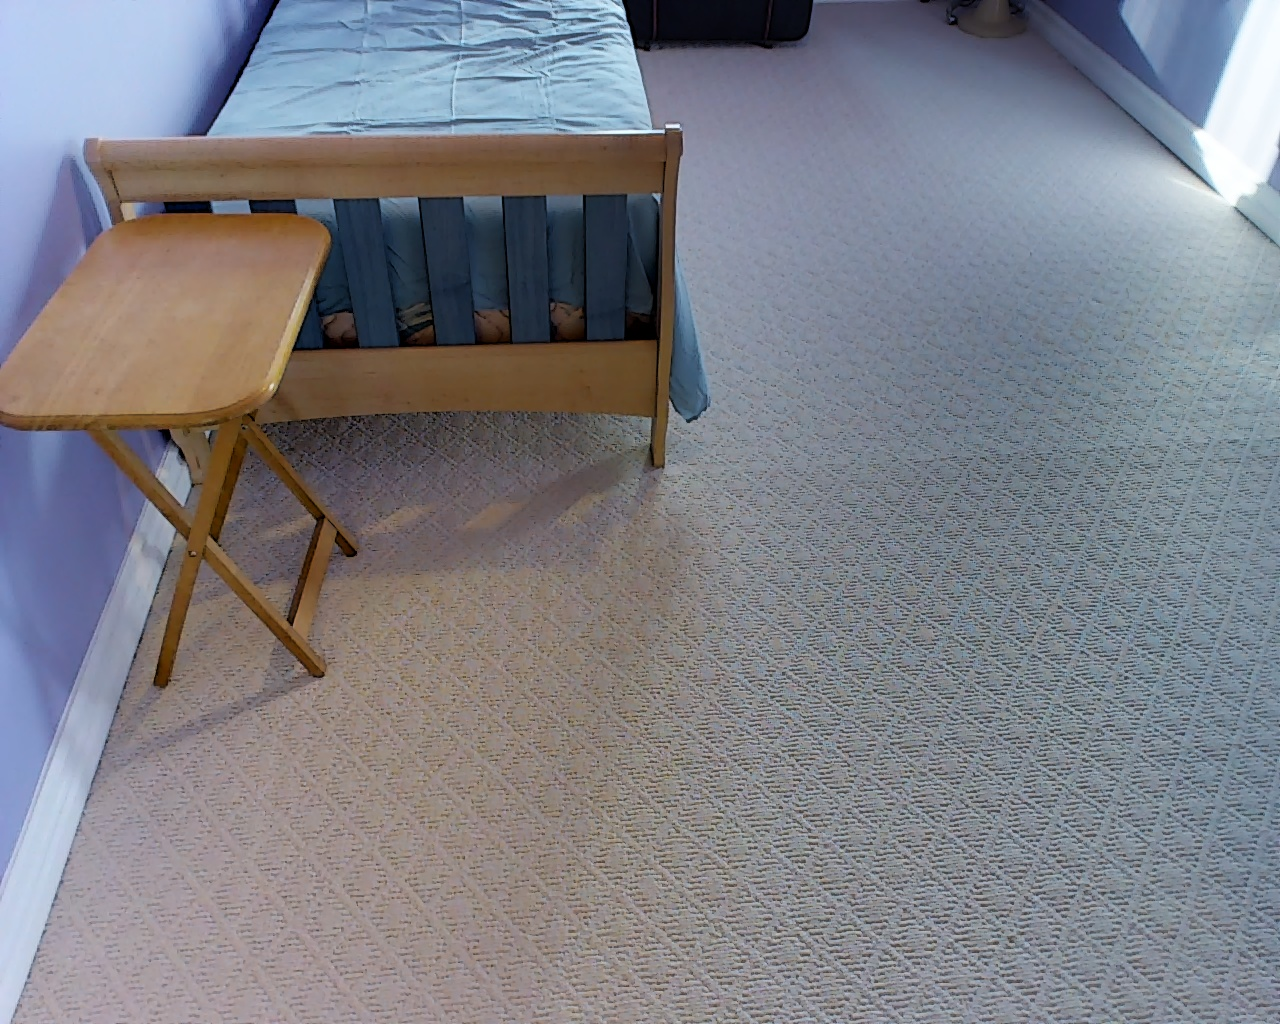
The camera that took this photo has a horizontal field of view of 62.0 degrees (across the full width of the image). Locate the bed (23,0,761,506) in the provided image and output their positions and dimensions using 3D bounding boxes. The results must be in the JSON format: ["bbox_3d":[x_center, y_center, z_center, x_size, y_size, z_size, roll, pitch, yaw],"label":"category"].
[{"bbox_3d":[-0.480,-1.100,2.760,1.140,0.970,2.080,-4,42,-5],"label":"bed"}]
